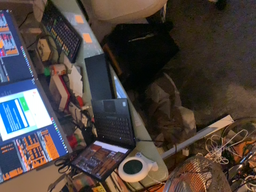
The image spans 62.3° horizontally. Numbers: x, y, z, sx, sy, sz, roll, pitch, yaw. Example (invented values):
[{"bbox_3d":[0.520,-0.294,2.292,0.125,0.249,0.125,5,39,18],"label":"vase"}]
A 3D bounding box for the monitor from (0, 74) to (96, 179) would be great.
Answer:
[{"bbox_3d":[-0.510,0.120,1.190,0.530,0.490,0.060,60,140,24],"label":"monitor"}]
